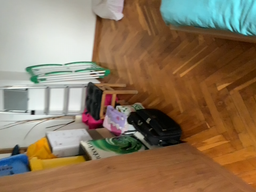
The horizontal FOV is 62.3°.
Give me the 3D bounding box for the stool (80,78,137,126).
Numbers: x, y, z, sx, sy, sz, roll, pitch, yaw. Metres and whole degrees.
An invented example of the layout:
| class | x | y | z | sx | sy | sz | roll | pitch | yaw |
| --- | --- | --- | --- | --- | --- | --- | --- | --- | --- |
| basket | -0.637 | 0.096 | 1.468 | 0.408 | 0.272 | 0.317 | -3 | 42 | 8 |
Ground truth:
| class | x | y | z | sx | sy | sz | roll | pitch | yaw |
| --- | --- | --- | --- | --- | --- | --- | --- | --- | --- |
| stool | -0.230 | 0.050 | 2.380 | 0.340 | 0.480 | 0.420 | 33 | 119 | 53 |
